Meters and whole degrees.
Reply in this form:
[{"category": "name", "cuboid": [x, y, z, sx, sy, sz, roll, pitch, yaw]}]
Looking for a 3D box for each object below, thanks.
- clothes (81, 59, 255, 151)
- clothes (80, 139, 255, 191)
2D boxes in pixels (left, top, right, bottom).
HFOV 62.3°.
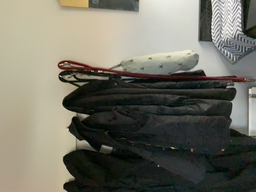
[{"category": "clothes", "cuboid": [0.200, 0.050, 1.110, 0.360, 0.840, 0.380, 179, 92, -81]}, {"category": "clothes", "cuboid": [0.310, 0.420, 1.110, 0.270, 1.080, 0.340, 176, 96, -81]}]
